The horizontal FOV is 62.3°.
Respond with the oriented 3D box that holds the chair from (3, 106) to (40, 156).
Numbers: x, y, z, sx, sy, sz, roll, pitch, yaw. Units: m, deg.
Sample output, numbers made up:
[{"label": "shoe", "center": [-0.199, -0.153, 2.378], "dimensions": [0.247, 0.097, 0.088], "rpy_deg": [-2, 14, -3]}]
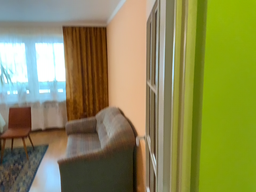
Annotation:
[{"label": "chair", "center": [-1.920, 0.620, 3.880], "dimensions": [0.430, 0.770, 0.470], "rpy_deg": [-1, 10, -9]}]
